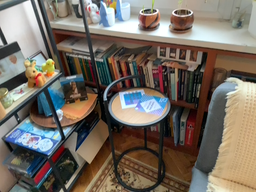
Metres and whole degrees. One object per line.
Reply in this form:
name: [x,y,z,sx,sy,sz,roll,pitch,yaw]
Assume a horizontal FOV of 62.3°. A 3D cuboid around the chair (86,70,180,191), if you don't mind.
chair: [0.060,0.240,1.250,0.350,0.640,0.350,14,43,22]
